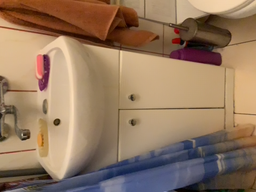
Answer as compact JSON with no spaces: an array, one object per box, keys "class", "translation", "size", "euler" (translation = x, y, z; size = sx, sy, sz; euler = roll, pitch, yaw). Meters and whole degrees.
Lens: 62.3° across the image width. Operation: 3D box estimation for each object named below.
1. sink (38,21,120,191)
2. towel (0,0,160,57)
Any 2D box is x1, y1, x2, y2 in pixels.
[{"class":"sink","translation":[-0.170,0.040,0.660],"size":[0.310,0.140,0.430],"euler":[0,90,56]},{"class":"towel","translation":[-0.170,-0.300,0.750],"size":[0.160,0.610,0.230],"euler":[-3,87,56]}]
